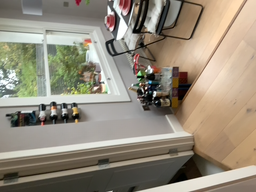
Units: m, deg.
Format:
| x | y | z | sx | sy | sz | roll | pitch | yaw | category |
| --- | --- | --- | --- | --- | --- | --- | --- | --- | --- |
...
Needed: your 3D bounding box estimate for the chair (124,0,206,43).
| x | y | z | sx | sy | sz | roll | pitch | yaw | category |
| --- | --- | --- | --- | --- | --- | --- | --- | --- | --- |
| 0.400 | -1.000 | 2.510 | 0.530 | 0.680 | 0.490 | -117 | 33 | -45 | chair |
